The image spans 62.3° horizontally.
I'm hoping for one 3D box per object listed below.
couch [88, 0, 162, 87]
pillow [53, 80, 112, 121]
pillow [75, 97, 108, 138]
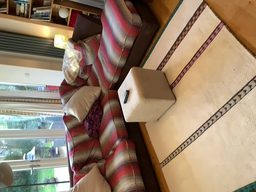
[{"bbox_3d":[-0.130,-0.850,2.930,0.970,0.440,1.040,-58,39,42],"label":"couch"},{"bbox_3d":[-0.670,0.070,3.200,0.580,0.540,0.360,-7,114,31],"label":"pillow"},{"bbox_3d":[-0.520,0.290,2.990,0.370,0.480,0.210,-12,138,-10],"label":"pillow"}]
